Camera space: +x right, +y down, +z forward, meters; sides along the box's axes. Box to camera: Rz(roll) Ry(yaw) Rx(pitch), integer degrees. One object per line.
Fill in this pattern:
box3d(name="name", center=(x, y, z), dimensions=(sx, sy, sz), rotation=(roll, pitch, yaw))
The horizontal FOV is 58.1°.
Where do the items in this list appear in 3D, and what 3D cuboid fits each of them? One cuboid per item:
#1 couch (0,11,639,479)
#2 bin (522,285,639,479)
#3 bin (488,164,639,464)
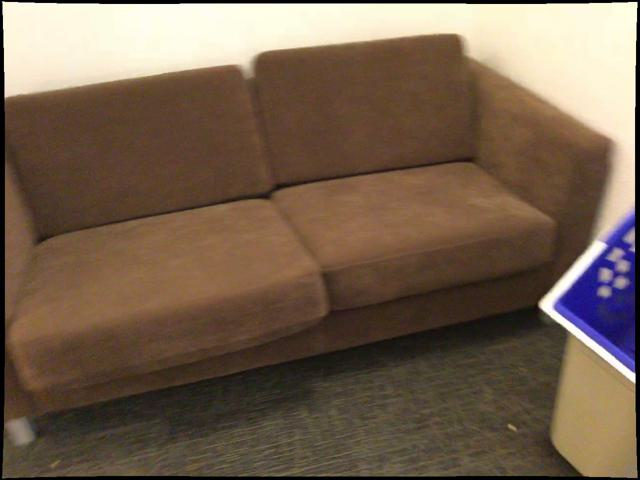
box3d(name="couch", center=(-0.140, -0.100, 1.810), dimensions=(1.746, 0.791, 1.021), rotation=(-11, 36, -12))
box3d(name="bin", center=(0.778, 0.361, 1.380), dimensions=(0.419, 0.441, 0.260), rotation=(-11, 36, -12))
box3d(name="bin", center=(0.738, 0.120, 1.260), dimensions=(0.529, 0.421, 0.410), rotation=(-11, 36, -12))
